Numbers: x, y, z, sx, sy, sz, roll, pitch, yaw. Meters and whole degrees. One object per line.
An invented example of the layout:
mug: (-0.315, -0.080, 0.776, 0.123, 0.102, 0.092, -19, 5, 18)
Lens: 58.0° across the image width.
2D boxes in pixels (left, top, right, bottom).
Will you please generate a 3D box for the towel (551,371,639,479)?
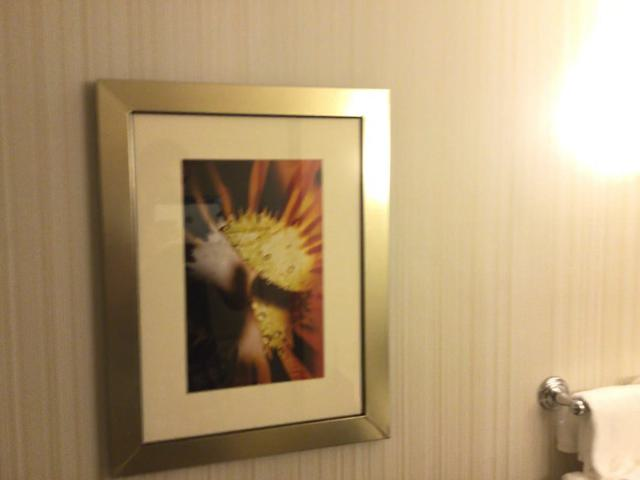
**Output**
towel: (0.580, 0.370, 1.140, 0.190, 0.180, 0.120, 0, 5, -14)

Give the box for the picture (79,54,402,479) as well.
picture: (-0.120, 0.060, 0.980, 0.520, 0.690, 0.040, 0, 5, -14)
